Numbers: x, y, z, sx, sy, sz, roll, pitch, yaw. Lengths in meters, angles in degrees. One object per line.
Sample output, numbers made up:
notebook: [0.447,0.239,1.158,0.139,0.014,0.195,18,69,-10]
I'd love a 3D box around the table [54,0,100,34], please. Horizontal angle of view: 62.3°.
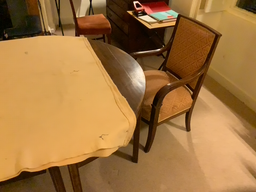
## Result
table: [-0.870,-1.510,3.600,0.630,0.680,0.510,-14,42,-21]

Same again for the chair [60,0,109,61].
chair: [-0.600,-1.000,2.900,0.540,0.790,0.570,-9,40,-16]

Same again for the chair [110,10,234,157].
chair: [0.240,-0.110,1.710,0.590,0.920,0.600,-13,42,-20]
